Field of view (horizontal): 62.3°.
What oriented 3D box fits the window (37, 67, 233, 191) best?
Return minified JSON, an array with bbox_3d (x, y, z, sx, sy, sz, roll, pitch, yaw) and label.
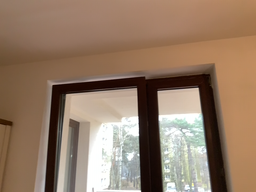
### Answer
[{"bbox_3d":[0.010,0.950,1.600,1.480,2.360,0.180,-3,-18,10],"label":"window"}]
